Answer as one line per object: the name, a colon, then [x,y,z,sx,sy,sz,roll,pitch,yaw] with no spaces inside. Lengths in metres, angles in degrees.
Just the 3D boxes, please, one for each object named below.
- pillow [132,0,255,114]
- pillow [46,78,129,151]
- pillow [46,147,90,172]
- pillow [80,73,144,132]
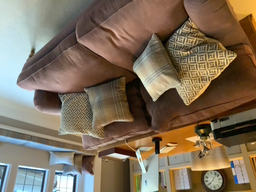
pillow: [0.380,-0.190,1.360,0.440,0.350,0.560,18,146,-33]
pillow: [-0.350,0.150,1.930,0.550,0.480,0.180,19,154,20]
pillow: [-1.060,1.150,3.790,0.660,0.290,0.320,24,143,-39]
pillow: [-0.120,0.040,1.750,0.380,0.380,0.110,21,154,19]
